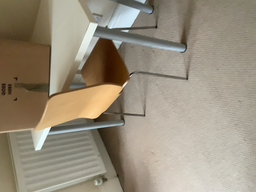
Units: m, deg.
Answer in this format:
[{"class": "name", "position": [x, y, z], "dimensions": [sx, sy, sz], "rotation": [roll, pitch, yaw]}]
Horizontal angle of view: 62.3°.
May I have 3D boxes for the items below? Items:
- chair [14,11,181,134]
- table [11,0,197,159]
[{"class": "chair", "position": [-0.160, -0.110, 1.300], "dimensions": [0.390, 0.840, 0.450], "rotation": [-42, 62, 41]}, {"class": "table", "position": [-0.270, -0.180, 1.500], "dimensions": [1.090, 0.740, 0.640], "rotation": [-52, 55, 36]}]
